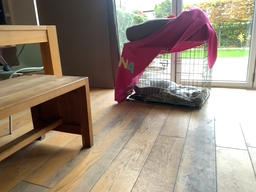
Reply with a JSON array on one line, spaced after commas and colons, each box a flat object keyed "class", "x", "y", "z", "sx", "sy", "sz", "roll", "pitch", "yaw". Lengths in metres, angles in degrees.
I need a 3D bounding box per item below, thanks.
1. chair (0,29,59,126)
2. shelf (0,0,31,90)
[{"class": "chair", "x": -0.970, "y": -0.190, "z": 1.820, "sx": 0.460, "sy": 0.720, "sz": 0.510, "roll": 1, "pitch": 17, "yaw": 10}, {"class": "shelf", "x": -1.800, "y": -0.830, "z": 2.860, "sx": 0.340, "sy": 1.420, "sz": 0.630, "roll": 4, "pitch": 18, "yaw": 20}]
